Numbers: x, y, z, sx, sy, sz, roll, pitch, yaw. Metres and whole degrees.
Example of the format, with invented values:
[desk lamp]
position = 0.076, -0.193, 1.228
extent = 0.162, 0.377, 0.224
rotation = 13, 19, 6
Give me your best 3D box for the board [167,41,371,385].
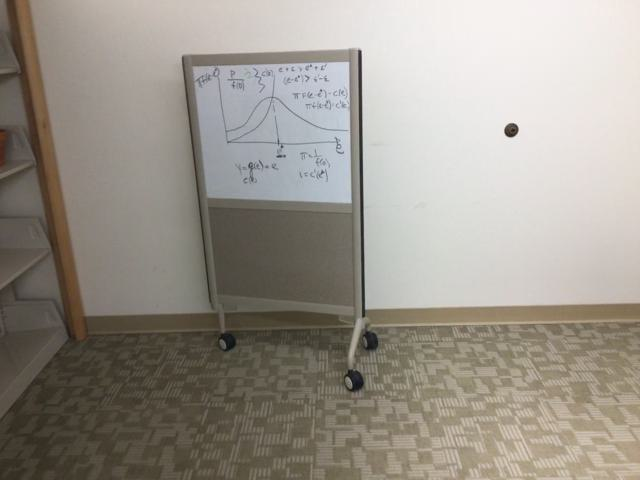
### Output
[board]
position = -0.210, -0.110, 2.430
extent = 0.790, 1.320, 0.220
rotation = 4, 12, 20
